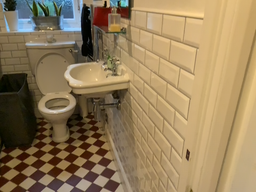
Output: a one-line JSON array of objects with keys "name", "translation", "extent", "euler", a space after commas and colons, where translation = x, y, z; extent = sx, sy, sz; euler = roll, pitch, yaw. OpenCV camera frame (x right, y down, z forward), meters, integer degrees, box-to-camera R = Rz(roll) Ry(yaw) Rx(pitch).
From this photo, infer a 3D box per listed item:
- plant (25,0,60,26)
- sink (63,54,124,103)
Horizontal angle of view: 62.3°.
[{"name": "plant", "translation": [-0.930, -0.930, 2.350], "extent": [0.320, 0.260, 0.230], "euler": [-5, 25, -15]}, {"name": "sink", "translation": [-0.260, -0.150, 1.450], "extent": [0.330, 0.140, 0.560], "euler": [-6, 25, -16]}]
